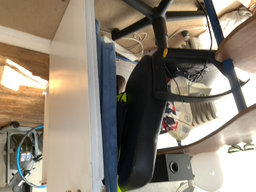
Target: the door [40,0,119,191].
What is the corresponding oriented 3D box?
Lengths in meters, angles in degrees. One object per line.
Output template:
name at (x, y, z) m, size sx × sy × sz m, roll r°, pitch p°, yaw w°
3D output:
door at (-0.290, 0.280, 1.010) m, size 0.090 × 1.680 × 0.820 m, roll 6°, pitch 156°, yaw -30°
